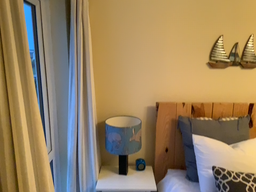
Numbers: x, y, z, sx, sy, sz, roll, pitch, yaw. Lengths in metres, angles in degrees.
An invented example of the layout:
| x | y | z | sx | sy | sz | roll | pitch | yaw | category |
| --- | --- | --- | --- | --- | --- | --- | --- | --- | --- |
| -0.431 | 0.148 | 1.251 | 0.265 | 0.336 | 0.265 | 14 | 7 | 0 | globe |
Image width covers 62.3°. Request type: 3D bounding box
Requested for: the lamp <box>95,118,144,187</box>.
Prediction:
| x | y | z | sx | sy | sz | roll | pitch | yaw | category |
| --- | --- | --- | --- | --- | --- | --- | --- | --- | --- |
| -0.060 | 0.440 | 1.710 | 0.350 | 0.460 | 0.280 | 0 | 10 | 0 | lamp |
